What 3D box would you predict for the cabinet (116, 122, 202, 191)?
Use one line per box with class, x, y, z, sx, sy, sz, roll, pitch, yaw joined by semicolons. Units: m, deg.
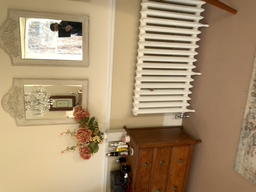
cabinet;0.350;0.890;2.710;0.520;0.860;0.940;-141;53;-68
